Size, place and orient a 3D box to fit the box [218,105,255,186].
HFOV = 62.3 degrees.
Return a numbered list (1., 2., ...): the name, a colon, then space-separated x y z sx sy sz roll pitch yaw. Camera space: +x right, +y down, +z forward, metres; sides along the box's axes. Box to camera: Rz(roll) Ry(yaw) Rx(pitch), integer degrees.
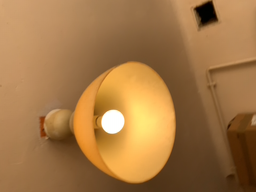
1. box: 0.900 0.310 1.370 0.340 0.410 0.410 -33 -73 -42
